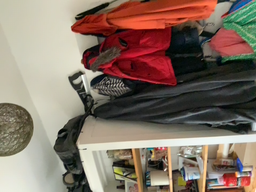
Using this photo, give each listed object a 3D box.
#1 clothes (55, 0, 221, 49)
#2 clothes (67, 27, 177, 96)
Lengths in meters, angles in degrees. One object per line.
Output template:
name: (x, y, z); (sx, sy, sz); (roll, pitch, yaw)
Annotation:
clothes: (0.060, -0.490, 1.320); (0.170, 0.940, 0.250); (-84, -12, -62)
clothes: (-0.020, -0.230, 1.430); (0.240, 0.650, 0.340); (-84, -12, -61)
